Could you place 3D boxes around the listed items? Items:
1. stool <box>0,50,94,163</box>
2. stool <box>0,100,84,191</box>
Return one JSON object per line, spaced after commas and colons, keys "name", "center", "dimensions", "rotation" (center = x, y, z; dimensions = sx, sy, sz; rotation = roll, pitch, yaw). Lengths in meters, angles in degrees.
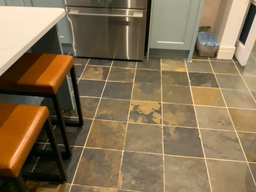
{"name": "stool", "center": [-0.490, 0.090, 1.470], "dimensions": [0.370, 0.690, 0.360], "rotation": [4, 39, 3]}
{"name": "stool", "center": [-0.490, 0.410, 1.070], "dimensions": [0.370, 0.680, 0.370], "rotation": [4, 39, 3]}
